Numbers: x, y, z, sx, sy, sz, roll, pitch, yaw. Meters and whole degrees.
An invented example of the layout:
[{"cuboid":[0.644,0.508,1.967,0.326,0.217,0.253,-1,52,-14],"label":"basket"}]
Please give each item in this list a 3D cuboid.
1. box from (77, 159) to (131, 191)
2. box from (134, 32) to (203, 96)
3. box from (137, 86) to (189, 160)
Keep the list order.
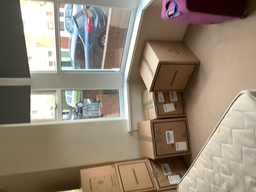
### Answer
[{"cuboid":[-0.320,1.130,2.630,0.440,0.570,0.450,106,155,-43],"label":"box"},{"cuboid":[0.470,-0.400,2.710,0.540,0.570,0.570,-109,25,-43],"label":"box"},{"cuboid":[0.450,0.340,2.870,0.470,0.500,0.890,167,102,-72],"label":"box"}]
